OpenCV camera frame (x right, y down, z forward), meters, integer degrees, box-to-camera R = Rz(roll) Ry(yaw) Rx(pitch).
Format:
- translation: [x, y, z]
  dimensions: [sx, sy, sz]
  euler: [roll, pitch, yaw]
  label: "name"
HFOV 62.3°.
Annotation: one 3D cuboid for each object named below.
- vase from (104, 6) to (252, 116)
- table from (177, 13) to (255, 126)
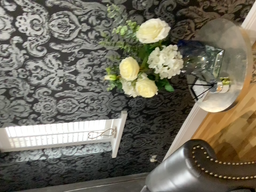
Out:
- translation: [0.200, -0.170, 1.090]
  dimensions: [0.320, 0.560, 0.410]
  euler: [-108, 23, -44]
  label: "vase"
- translation: [0.750, -0.160, 1.300]
  dimensions: [0.450, 0.640, 0.460]
  euler: [105, 157, -43]
  label: "table"
